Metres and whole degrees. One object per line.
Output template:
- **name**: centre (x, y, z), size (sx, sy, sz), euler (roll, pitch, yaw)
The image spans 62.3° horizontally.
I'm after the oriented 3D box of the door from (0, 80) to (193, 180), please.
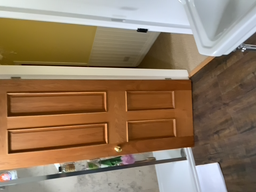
- **door**: centre (-0.260, 0.250, 2.010), size (0.120, 2.020, 0.790), euler (-175, 84, -69)
